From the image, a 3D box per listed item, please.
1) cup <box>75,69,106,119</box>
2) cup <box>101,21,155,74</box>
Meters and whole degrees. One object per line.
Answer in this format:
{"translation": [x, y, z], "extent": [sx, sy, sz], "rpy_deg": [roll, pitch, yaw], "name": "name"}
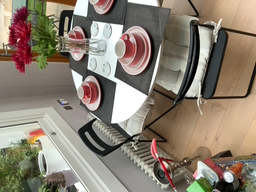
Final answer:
{"translation": [-0.280, -0.020, 1.540], "extent": [0.220, 0.090, 0.300], "rpy_deg": [28, 115, 44], "name": "cup"}
{"translation": [-0.010, -0.270, 1.170], "extent": [0.250, 0.130, 0.230], "rpy_deg": [30, 116, 44], "name": "cup"}
